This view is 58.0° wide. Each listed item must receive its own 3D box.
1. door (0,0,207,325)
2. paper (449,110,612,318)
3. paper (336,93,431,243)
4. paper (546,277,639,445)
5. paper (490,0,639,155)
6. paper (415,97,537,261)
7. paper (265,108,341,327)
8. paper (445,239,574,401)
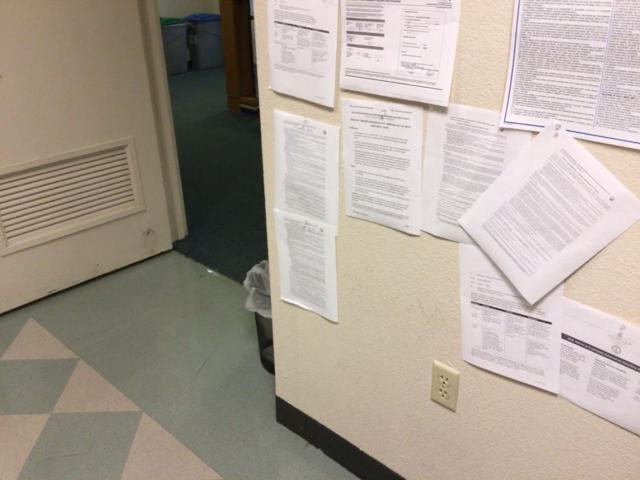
[{"bbox_3d":[-1.070,-0.950,2.200,1.040,2.490,0.230,-23,34,-37],"label":"door"},{"bbox_3d":[0.370,-0.050,1.070,0.250,0.340,0.030,22,34,38],"label":"paper"},{"bbox_3d":[0.130,-0.160,1.270,0.230,0.290,0.020,22,34,38],"label":"paper"},{"bbox_3d":[0.570,0.240,1.000,0.320,0.280,0.010,22,34,38],"label":"paper"},{"bbox_3d":[0.430,-0.350,0.860,0.320,0.420,0.030,22,34,38],"label":"paper"},{"bbox_3d":[0.290,-0.120,1.120,0.220,0.280,0.020,22,34,38],"label":"paper"},{"bbox_3d":[-0.040,-0.050,1.500,0.230,0.550,0.020,22,34,38],"label":"paper"},{"bbox_3d":[0.370,0.160,1.170,0.230,0.280,0.020,22,34,38],"label":"paper"}]
